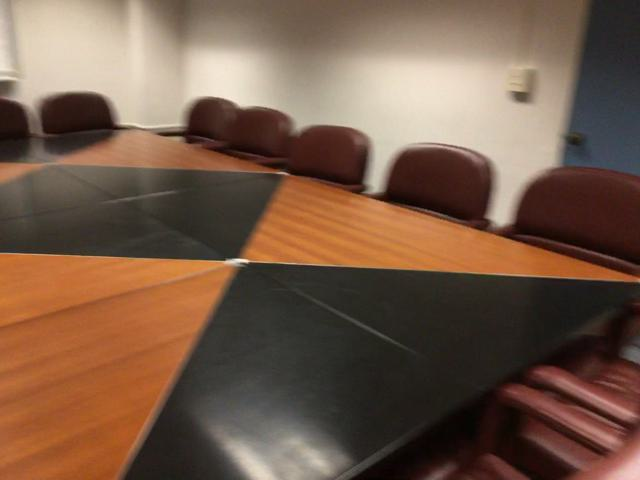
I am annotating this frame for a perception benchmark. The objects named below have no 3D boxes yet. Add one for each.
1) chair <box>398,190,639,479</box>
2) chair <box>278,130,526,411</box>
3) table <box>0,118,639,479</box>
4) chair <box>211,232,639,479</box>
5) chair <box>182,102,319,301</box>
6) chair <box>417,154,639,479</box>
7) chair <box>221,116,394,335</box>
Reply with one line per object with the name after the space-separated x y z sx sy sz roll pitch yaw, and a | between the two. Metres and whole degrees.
0.760 0.460 1.480 0.680 0.970 0.790 -9 23 -38 | chair
0.320 0.060 2.590 0.650 0.980 0.740 -9 23 -38 | chair
-1.400 -0.010 1.800 3.680 0.250 3.590 -9 23 -38 | table
0.260 0.580 1.110 0.670 0.960 0.700 -9 23 -38 | chair
-0.420 -0.250 3.350 0.600 1.020 0.430 -9 23 -38 | chair
0.910 0.230 2.210 0.660 0.970 0.680 -11 24 -42 | chair
-0.090 -0.120 3.010 0.620 0.960 0.550 -9 23 -38 | chair
